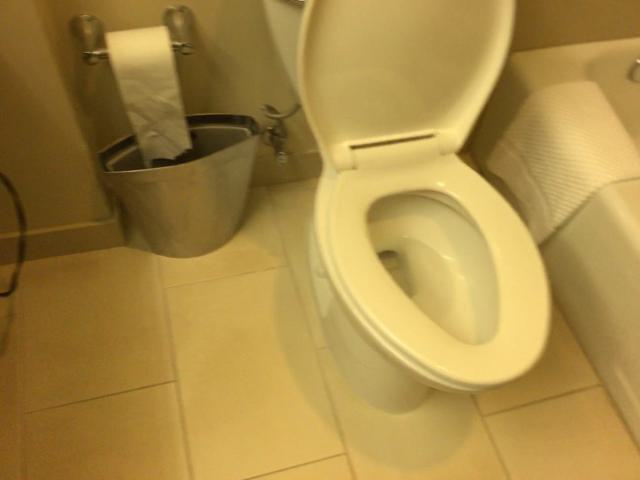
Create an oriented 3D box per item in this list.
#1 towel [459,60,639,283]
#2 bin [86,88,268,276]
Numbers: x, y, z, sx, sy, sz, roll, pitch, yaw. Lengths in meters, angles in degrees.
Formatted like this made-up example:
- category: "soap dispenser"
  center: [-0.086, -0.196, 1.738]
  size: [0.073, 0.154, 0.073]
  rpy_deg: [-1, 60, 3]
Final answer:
- category: "towel"
  center: [0.560, -0.160, 1.390]
  size: [0.240, 0.360, 0.350]
  rpy_deg: [-11, 56, -12]
- category: "bin"
  center: [-0.300, -0.120, 1.290]
  size: [0.330, 0.340, 0.190]
  rpy_deg: [-11, 56, -12]
